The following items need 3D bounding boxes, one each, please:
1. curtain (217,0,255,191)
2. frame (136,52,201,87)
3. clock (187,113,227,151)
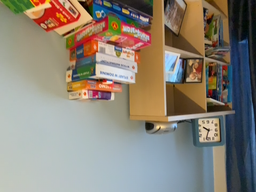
[{"bbox_3d":[0.970,0.110,1.640,0.400,2.140,0.250,-3,177,44],"label":"curtain"},{"bbox_3d":[0.260,-0.150,1.340,0.330,0.160,0.250,1,177,-42],"label":"frame"},{"bbox_3d":[0.600,0.260,1.600,0.310,0.240,0.150,1,177,-42],"label":"clock"}]
